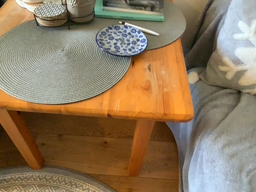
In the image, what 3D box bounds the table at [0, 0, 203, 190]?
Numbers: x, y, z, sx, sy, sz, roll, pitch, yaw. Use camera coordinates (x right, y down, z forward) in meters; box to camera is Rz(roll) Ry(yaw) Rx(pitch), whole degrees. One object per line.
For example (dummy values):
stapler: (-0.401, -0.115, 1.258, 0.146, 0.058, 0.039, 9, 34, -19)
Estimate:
table: (-0.160, -0.030, 0.860, 0.630, 0.550, 0.600, 4, 50, -2)
